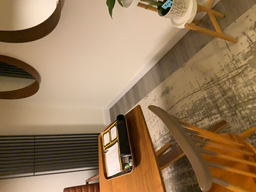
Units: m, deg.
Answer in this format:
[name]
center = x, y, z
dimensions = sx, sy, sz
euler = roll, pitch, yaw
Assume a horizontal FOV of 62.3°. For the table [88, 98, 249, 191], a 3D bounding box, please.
[table]
center = 0.310, 1.060, 1.440
dimensions = 0.880, 0.760, 1.860
euler = -43, 51, 51
